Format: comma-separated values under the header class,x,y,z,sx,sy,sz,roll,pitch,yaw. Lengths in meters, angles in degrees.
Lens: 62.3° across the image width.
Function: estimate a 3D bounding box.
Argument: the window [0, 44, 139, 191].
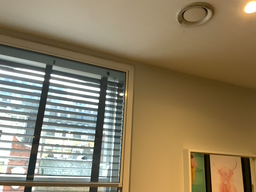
class,x,y,z,sx,sy,sz,roll,pitch,yaw
window,-0.550,0.540,1.200,1.200,1.630,0.170,9,-18,-20
